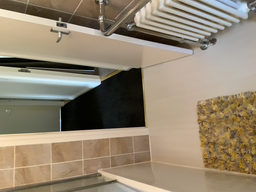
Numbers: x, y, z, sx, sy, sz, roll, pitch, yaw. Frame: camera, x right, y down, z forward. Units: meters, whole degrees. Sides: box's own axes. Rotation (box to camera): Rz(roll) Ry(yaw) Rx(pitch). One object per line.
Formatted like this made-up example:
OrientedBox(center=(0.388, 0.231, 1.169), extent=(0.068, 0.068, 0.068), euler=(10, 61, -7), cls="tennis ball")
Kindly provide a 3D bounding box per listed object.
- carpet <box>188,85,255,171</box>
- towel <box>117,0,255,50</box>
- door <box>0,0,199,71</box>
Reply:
OrientedBox(center=(0.720, 0.200, 1.340), extent=(0.780, 0.050, 0.500), euler=(-14, 77, 56), cls="carpet")
OrientedBox(center=(0.380, -0.450, 1.210), extent=(0.560, 0.700, 0.120), euler=(-10, 80, 57), cls="towel")
OrientedBox(center=(-0.460, -0.390, 1.550), extent=(0.780, 1.990, 0.110), euler=(-6, 83, 57), cls="door")
